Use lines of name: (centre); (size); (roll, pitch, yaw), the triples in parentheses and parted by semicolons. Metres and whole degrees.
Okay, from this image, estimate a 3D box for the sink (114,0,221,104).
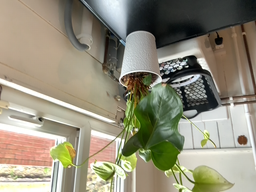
sink: (0.270, -0.190, 1.260); (0.430, 0.260, 0.620); (-9, 158, 27)
